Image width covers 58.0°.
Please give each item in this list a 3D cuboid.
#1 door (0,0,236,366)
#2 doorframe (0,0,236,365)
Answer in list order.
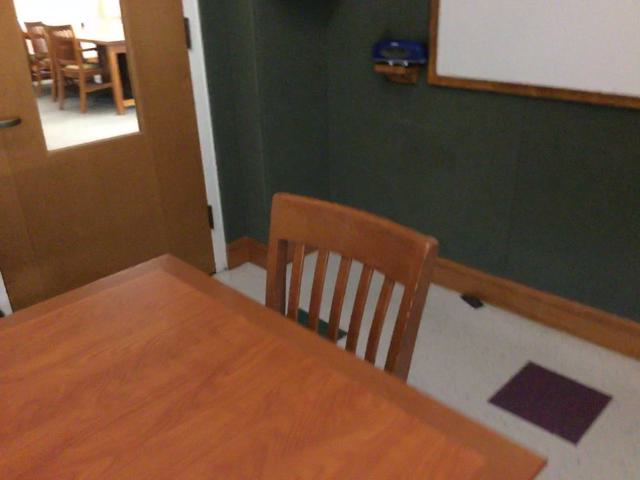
[{"bbox_3d":[-0.890,-0.630,2.140,0.180,2.000,1.060,21,34,40],"label":"door"},{"bbox_3d":[-0.830,-0.600,2.110,0.050,1.990,1.020,21,34,40],"label":"doorframe"}]
